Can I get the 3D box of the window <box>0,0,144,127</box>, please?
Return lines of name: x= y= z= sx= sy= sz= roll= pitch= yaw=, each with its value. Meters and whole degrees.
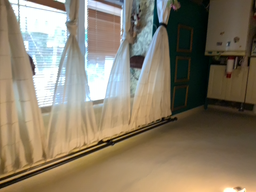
window: x=-0.440 y=-0.600 z=1.990 sx=0.190 sy=1.460 sz=1.690 roll=11 pitch=-167 yaw=38
